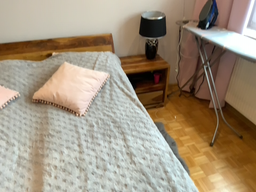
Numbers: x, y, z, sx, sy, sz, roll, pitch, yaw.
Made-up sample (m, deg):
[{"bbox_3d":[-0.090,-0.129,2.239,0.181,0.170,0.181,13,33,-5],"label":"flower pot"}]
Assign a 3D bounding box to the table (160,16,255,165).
[{"bbox_3d":[0.830,-0.180,2.230,0.380,0.960,1.400,-8,33,-14],"label":"table"}]
